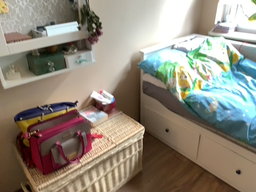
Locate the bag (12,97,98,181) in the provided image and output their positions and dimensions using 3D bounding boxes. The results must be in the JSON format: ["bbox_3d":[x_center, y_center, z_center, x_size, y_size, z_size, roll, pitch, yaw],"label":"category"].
[{"bbox_3d":[-0.450,0.240,1.330,0.360,0.250,0.350,-24,36,-36],"label":"bag"}]
